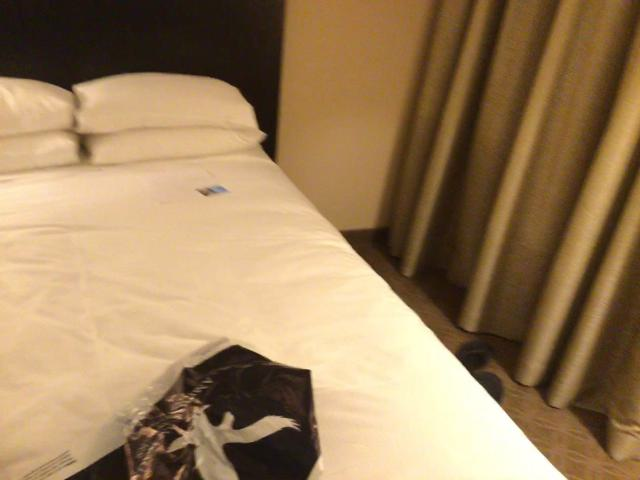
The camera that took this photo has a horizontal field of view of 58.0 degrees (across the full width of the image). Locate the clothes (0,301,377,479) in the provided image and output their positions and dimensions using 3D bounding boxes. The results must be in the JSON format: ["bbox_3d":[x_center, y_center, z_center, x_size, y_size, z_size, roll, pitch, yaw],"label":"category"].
[{"bbox_3d":[-0.200,0.310,0.780,0.430,0.180,0.530,-3,25,-21],"label":"clothes"}]

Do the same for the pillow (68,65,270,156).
[{"bbox_3d":[-0.550,-0.470,2.090,0.640,0.230,0.390,-3,25,-21],"label":"pillow"}]

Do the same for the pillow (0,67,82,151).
[{"bbox_3d":[-1.120,-0.440,1.890,0.620,0.200,0.380,-3,25,-21],"label":"pillow"}]

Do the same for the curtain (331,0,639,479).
[{"bbox_3d":[1.020,-0.030,1.170,0.610,1.840,3.470,-3,25,-21],"label":"curtain"}]

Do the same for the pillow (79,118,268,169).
[{"bbox_3d":[-0.510,-0.340,2.030,0.610,0.120,0.210,-3,25,-21],"label":"pillow"}]
